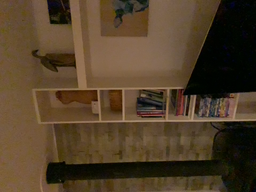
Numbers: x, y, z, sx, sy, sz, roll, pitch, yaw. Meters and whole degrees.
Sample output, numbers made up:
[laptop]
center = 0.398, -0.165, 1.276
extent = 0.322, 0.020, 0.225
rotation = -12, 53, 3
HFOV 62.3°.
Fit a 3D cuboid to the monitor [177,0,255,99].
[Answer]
[monitor]
center = 0.830, -0.280, 1.530
extent = 1.170, 0.710, 0.050
rotation = 91, 178, -61
